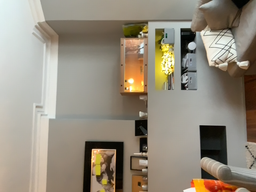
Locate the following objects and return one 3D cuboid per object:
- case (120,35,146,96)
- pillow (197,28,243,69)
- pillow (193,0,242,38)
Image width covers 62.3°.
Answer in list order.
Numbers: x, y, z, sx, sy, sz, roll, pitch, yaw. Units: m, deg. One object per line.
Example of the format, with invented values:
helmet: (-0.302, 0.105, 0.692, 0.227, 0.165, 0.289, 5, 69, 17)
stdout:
case: (0.090, -0.510, 3.610, 0.150, 0.420, 1.010, 64, -153, -85)
pillow: (1.110, -0.580, 2.570, 0.340, 0.360, 0.130, 53, 168, 16)
pillow: (1.050, -0.990, 2.490, 0.170, 0.470, 0.430, 57, 169, 27)
